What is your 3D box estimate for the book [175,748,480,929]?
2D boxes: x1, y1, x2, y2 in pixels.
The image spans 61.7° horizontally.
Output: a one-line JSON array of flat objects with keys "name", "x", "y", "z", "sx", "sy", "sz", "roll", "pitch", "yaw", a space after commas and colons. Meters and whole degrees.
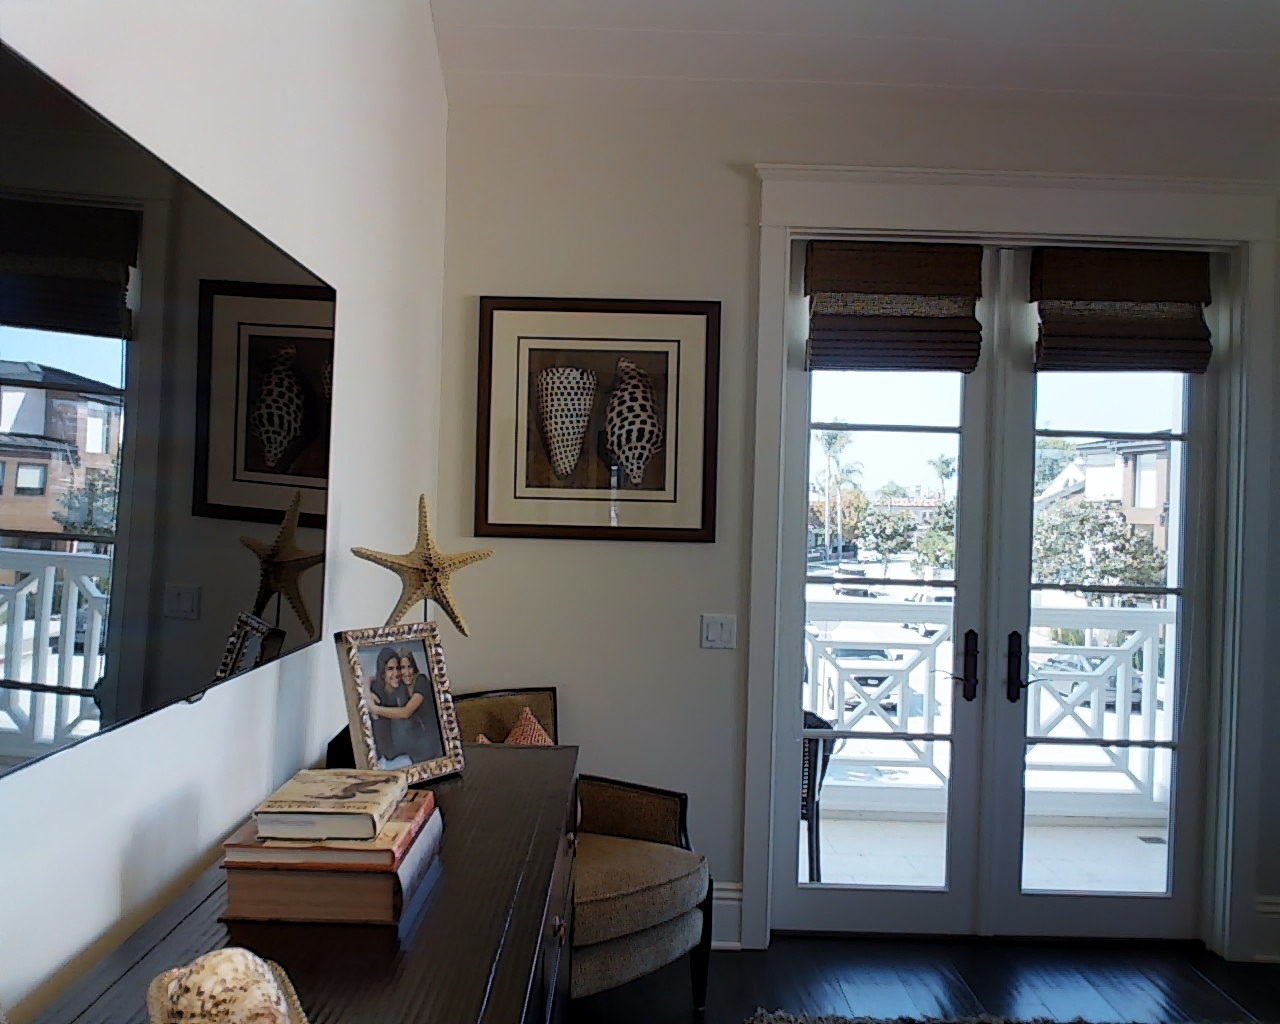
[{"name": "book", "x": -0.430, "y": 0.460, "z": 1.560, "sx": 0.340, "sy": 0.150, "sz": 0.350, "roll": 2, "pitch": 0, "yaw": -1}]
